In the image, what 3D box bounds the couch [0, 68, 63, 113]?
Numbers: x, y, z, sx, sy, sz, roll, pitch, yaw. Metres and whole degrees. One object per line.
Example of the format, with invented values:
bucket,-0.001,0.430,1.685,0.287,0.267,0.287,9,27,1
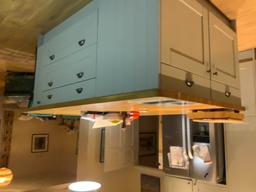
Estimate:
couch,-2.030,-0.070,4.520,1.070,0.830,0.820,1,172,-7
